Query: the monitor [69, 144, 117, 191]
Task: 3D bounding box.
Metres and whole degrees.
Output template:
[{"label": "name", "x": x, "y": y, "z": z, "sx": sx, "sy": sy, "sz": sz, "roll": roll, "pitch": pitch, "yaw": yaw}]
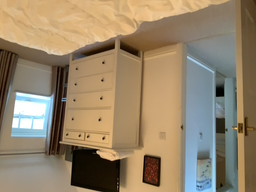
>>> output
[{"label": "monitor", "x": -0.490, "y": 0.970, "z": 2.900, "sx": 0.740, "sy": 0.550, "sz": 0.030, "roll": -1, "pitch": 171, "yaw": 28}]
